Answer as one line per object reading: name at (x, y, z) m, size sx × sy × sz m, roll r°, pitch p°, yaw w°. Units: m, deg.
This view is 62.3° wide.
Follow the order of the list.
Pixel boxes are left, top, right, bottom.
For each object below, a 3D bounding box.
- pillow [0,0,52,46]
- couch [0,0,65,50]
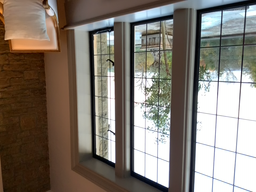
pillow at (-1.080, -0.780, 2.130) m, size 0.490 × 0.390 × 0.220 m, roll -13°, pitch 175°, yaw -2°
couch at (-1.070, -0.950, 2.030) m, size 0.700 × 0.930 × 0.750 m, roll 0°, pitch -172°, yaw -3°
